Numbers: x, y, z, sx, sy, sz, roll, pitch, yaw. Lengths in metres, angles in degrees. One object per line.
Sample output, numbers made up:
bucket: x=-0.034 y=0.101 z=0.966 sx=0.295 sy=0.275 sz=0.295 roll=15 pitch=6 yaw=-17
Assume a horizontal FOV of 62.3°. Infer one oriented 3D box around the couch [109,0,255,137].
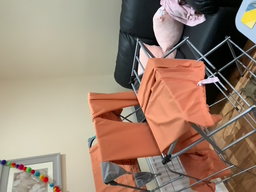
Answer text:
couch: x=0.410 y=-0.470 z=2.030 sx=0.850 sy=0.900 sz=1.500 roll=-112 pitch=24 yaw=-44
